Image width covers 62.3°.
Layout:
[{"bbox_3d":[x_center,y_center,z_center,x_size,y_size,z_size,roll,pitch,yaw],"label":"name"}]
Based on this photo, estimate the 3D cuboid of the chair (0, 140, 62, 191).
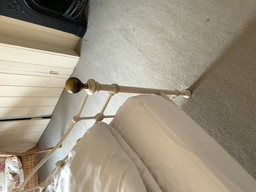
[{"bbox_3d":[-1.270,0.850,2.370,0.600,0.780,0.600,-11,83,40],"label":"chair"}]
